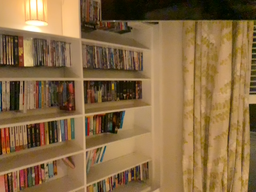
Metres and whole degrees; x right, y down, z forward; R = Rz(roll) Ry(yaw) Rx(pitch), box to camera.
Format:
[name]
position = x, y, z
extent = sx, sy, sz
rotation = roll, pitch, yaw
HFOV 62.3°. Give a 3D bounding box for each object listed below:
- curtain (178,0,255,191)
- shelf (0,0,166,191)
[curtain]
position = 0.780, -0.150, 1.850
extent = 0.510, 3.200, 0.390
rotation = 4, -174, 45
[shelf]
position = -0.400, 0.160, 1.690
extent = 1.650, 1.930, 0.480
rotation = -5, -174, -43
